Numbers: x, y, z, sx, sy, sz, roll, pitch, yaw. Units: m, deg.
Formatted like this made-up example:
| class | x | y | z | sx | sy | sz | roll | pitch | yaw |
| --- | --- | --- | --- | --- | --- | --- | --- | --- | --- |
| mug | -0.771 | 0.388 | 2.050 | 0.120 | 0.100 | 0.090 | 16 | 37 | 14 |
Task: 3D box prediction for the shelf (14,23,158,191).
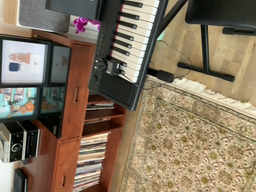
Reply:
| class | x | y | z | sx | sy | sz | roll | pitch | yaw |
| --- | --- | --- | --- | --- | --- | --- | --- | --- | --- |
| shelf | -0.330 | 0.140 | 1.540 | 0.530 | 0.680 | 1.110 | 26 | 111 | 39 |
